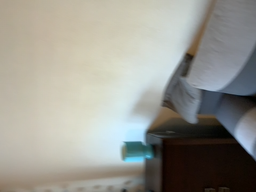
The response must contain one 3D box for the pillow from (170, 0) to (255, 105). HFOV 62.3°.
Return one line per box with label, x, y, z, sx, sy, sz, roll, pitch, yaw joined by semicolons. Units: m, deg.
pillow;0.580;-0.350;1.350;0.420;0.340;0.690;-111;26;-57
